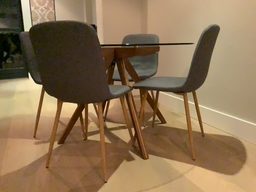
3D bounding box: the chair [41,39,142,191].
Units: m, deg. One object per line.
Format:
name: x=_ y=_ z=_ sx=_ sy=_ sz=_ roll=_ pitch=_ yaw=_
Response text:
chair: x=-0.180 y=0.060 z=1.360 sx=0.370 sy=0.810 sz=0.520 roll=6 pitch=15 yaw=24
